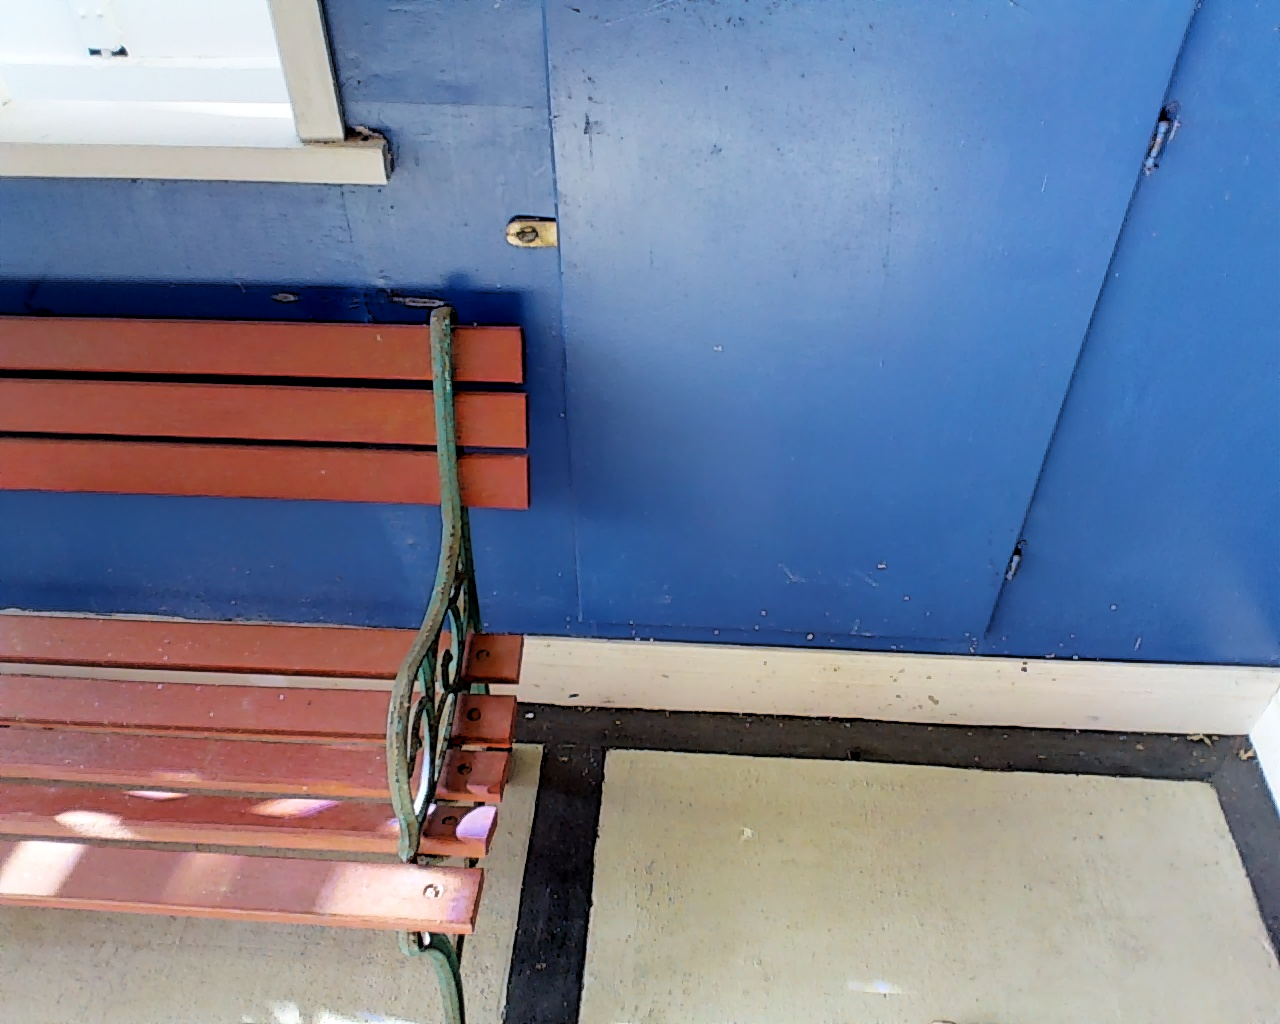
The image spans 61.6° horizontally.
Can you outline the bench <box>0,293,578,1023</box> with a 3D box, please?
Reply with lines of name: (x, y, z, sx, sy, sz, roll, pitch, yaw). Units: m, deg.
bench: (-0.780, 0.200, 1.200, 1.340, 0.680, 0.570, 3, 43, 3)
